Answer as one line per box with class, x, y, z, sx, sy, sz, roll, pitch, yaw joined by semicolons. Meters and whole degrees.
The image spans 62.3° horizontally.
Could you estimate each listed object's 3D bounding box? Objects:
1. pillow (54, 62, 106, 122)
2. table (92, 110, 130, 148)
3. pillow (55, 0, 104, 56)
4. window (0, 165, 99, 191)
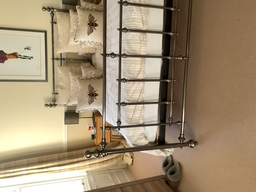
pillow;-0.720;-0.120;2.960;1.160;0.560;0.670;-158;69;-69
table;-0.310;0.560;3.720;0.380;0.570;0.530;-157;67;-69
pillow;-0.710;-0.910;2.880;1.090;0.520;0.670;-154;65;-68
window;-1.460;1.500;2.830;1.200;2.070;0.360;-154;65;-68
